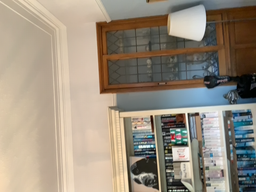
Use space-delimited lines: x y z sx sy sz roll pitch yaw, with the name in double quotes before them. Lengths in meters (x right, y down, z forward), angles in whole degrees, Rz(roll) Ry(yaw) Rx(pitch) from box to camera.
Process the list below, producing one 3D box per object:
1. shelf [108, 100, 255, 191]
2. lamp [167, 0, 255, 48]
"shelf" 0.980 1.080 2.170 0.360 2.220 2.030 19 -112 -83
"lamp" 1.190 -0.800 2.150 0.390 1.530 0.370 39 -132 -81
